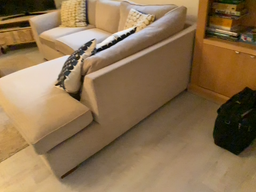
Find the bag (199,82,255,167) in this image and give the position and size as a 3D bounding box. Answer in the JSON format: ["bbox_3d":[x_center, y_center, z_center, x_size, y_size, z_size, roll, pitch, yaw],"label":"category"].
[{"bbox_3d":[0.800,0.180,1.520,0.450,0.310,0.330,-30,43,-31],"label":"bag"}]

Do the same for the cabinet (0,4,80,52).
[{"bbox_3d":[-1.430,-1.130,3.470,1.180,0.490,0.480,-9,36,-7],"label":"cabinet"}]
